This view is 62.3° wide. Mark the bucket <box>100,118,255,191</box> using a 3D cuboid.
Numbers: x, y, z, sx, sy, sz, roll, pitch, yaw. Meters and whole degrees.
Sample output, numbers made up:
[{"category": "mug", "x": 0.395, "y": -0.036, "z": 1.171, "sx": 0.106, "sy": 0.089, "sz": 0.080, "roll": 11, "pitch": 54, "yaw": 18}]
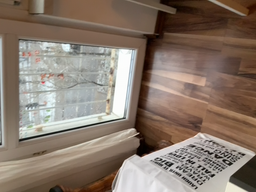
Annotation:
[{"category": "bucket", "x": 0.270, "y": 0.400, "z": 1.050, "sx": 0.450, "sy": 0.660, "sz": 0.350, "roll": 22, "pitch": 110, "yaw": 42}]
